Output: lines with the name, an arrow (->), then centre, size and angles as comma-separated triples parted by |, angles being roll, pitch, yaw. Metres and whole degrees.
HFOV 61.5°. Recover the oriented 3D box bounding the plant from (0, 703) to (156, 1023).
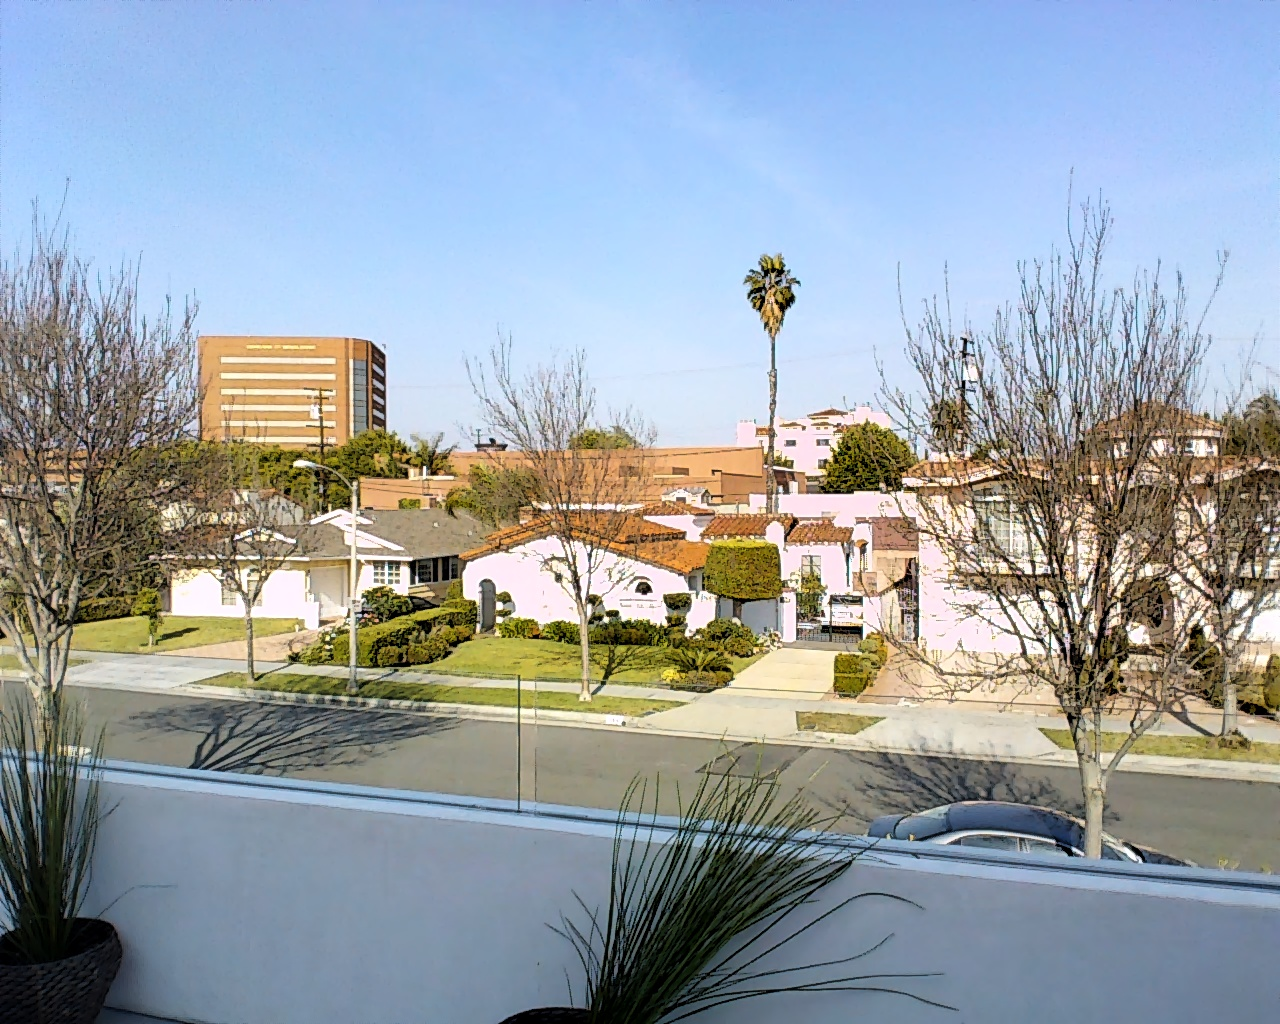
plant -> -1.649, 1.050, 3.090 | 0.300, 0.920, 0.360 | 0, 1, 21
